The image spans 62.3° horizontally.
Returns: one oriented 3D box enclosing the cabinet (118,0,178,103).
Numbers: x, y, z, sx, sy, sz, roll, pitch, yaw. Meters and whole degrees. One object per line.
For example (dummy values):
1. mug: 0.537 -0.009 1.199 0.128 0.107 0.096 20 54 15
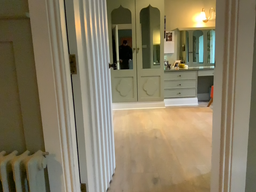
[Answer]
1. cabinet: 0.380 -1.260 4.200 1.050 2.670 0.690 -2 11 2
